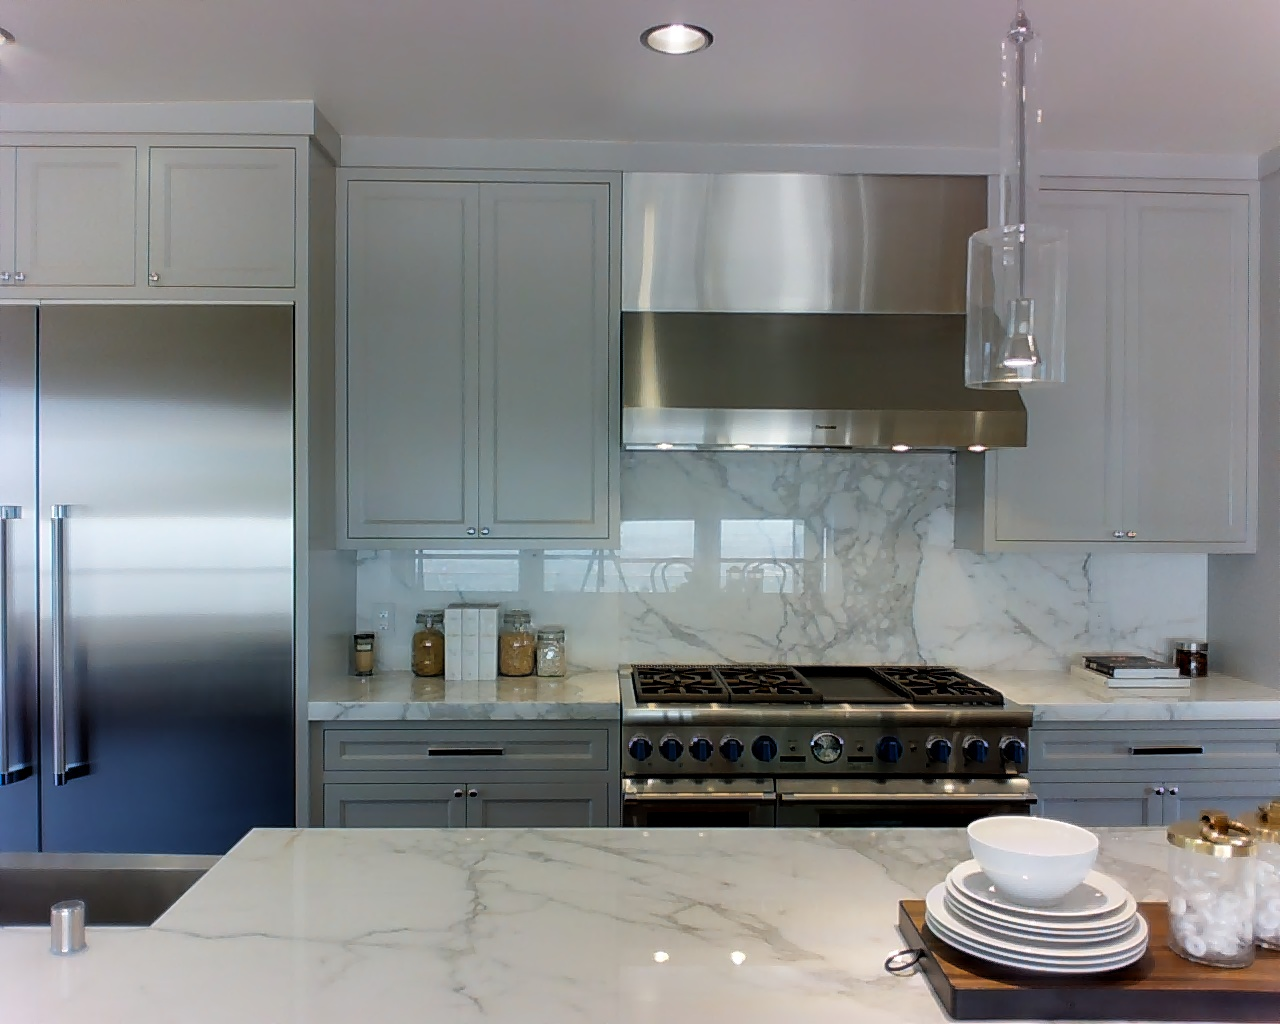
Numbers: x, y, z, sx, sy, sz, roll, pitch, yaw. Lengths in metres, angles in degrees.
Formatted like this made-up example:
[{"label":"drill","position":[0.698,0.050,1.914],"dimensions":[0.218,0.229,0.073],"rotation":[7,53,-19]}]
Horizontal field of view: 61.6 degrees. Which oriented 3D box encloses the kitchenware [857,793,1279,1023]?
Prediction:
[{"label":"kitchenware","position":[0.660,0.500,1.410],"dimensions":[0.670,0.160,0.370],"rotation":[0,1,-1]}]
